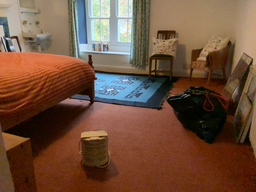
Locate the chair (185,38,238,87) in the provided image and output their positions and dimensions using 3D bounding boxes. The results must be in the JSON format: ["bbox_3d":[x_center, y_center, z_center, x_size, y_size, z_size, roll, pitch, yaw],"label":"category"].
[{"bbox_3d":[1.520,-0.660,4.000,0.520,0.790,0.710,-4,20,-15],"label":"chair"}]

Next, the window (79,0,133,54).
[{"bbox_3d":[-0.530,-1.640,5.030,1.320,1.200,0.070,7,20,18],"label":"window"}]

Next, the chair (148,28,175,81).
[{"bbox_3d":[0.680,-0.850,4.260,0.410,0.970,0.520,6,20,16],"label":"chair"}]

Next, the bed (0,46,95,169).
[{"bbox_3d":[-1.610,0.000,2.050,1.700,0.680,2.180,7,20,18],"label":"bed"}]
